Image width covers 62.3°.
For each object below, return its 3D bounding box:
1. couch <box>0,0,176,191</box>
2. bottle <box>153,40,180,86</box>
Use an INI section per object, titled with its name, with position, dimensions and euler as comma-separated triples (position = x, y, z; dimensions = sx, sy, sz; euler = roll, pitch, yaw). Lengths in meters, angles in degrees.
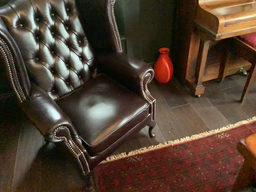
[couch]
position = -0.300, -0.090, 1.440
dimensions = 0.800, 0.980, 0.840
euler = -31, 47, -27
[bottle]
position = 0.370, -0.330, 2.130
dimensions = 0.220, 0.370, 0.240
euler = -3, 40, 3
